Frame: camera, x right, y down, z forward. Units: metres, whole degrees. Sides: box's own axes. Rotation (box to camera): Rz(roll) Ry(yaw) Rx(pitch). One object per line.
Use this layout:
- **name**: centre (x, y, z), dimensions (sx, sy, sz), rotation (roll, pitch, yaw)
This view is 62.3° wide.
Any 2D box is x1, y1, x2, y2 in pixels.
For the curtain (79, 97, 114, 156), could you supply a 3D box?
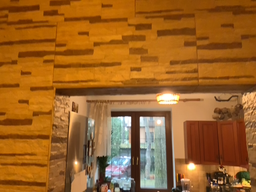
- **curtain**: centre (-0.590, 0.580, 4.020), dimensions (0.510, 1.030, 0.350), rotation (-6, -13, 27)

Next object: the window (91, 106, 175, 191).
- **window**: centre (0.100, 1.100, 4.320), dimensions (1.590, 1.780, 0.280), rotation (0, -12, 3)
